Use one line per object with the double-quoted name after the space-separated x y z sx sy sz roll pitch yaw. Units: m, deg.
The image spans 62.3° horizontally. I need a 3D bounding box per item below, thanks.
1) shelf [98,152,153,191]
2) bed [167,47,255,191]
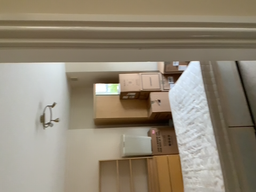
-0.070 1.610 4.230 0.330 1.040 0.880 109 159 -71 "shelf"
1.080 0.530 2.910 1.330 0.520 1.940 107 161 -70 "bed"
